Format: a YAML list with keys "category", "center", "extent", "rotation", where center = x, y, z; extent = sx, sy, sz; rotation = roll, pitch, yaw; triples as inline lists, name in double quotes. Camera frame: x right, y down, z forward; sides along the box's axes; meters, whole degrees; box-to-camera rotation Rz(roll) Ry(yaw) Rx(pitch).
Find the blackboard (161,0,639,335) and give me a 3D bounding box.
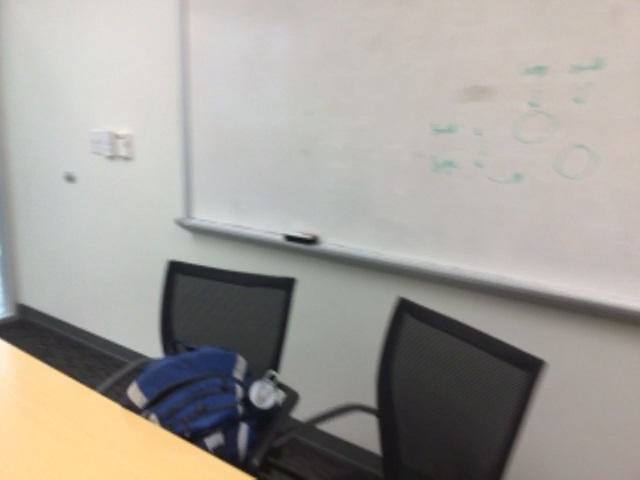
- category: "blackboard"
  center: [0.370, -0.490, 1.700]
  extent: [2.410, 1.240, 0.160]
  rotation: [13, 18, 36]
